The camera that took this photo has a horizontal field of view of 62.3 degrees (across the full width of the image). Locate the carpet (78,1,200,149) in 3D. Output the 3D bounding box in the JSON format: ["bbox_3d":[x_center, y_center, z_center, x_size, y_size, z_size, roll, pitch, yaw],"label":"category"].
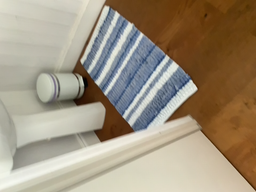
[{"bbox_3d":[-0.020,-0.150,1.340,0.840,0.001,0.510,50,123,26],"label":"carpet"}]
